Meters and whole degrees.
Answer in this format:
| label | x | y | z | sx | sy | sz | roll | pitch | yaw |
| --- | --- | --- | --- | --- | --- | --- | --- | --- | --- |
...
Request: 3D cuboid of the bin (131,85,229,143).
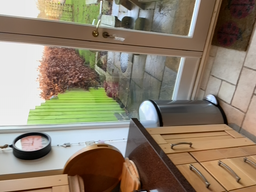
| label | x | y | z | sx | sy | sz | roll | pitch | yaw |
| --- | --- | --- | --- | --- | --- | --- | --- | --- | --- |
| bin | 0.440 | 0.140 | 1.920 | 0.430 | 0.680 | 0.330 | -129 | 44 | -59 |
